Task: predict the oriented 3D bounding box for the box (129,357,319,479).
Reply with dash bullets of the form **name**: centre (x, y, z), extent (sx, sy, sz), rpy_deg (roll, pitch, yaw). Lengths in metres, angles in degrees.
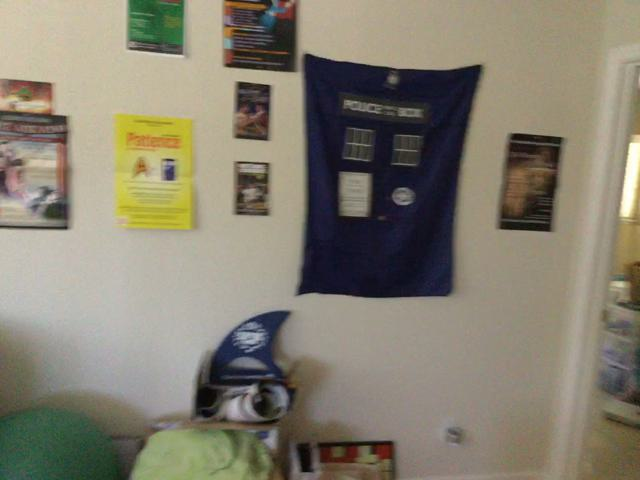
- **box**: centre (-0.390, 0.860, 2.150), extent (0.590, 0.710, 0.490), rpy_deg (3, 5, -20)
